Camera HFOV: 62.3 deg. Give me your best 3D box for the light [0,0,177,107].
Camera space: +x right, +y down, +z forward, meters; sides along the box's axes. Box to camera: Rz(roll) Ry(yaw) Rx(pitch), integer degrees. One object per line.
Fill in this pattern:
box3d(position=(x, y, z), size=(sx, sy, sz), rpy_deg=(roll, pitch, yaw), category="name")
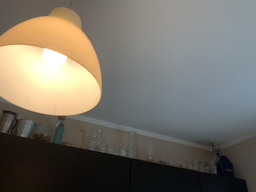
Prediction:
box3d(position=(-0.220, -0.240, 0.700), size=(0.570, 0.400, 0.340), rpy_deg=(8, 57, -20), category="light")
